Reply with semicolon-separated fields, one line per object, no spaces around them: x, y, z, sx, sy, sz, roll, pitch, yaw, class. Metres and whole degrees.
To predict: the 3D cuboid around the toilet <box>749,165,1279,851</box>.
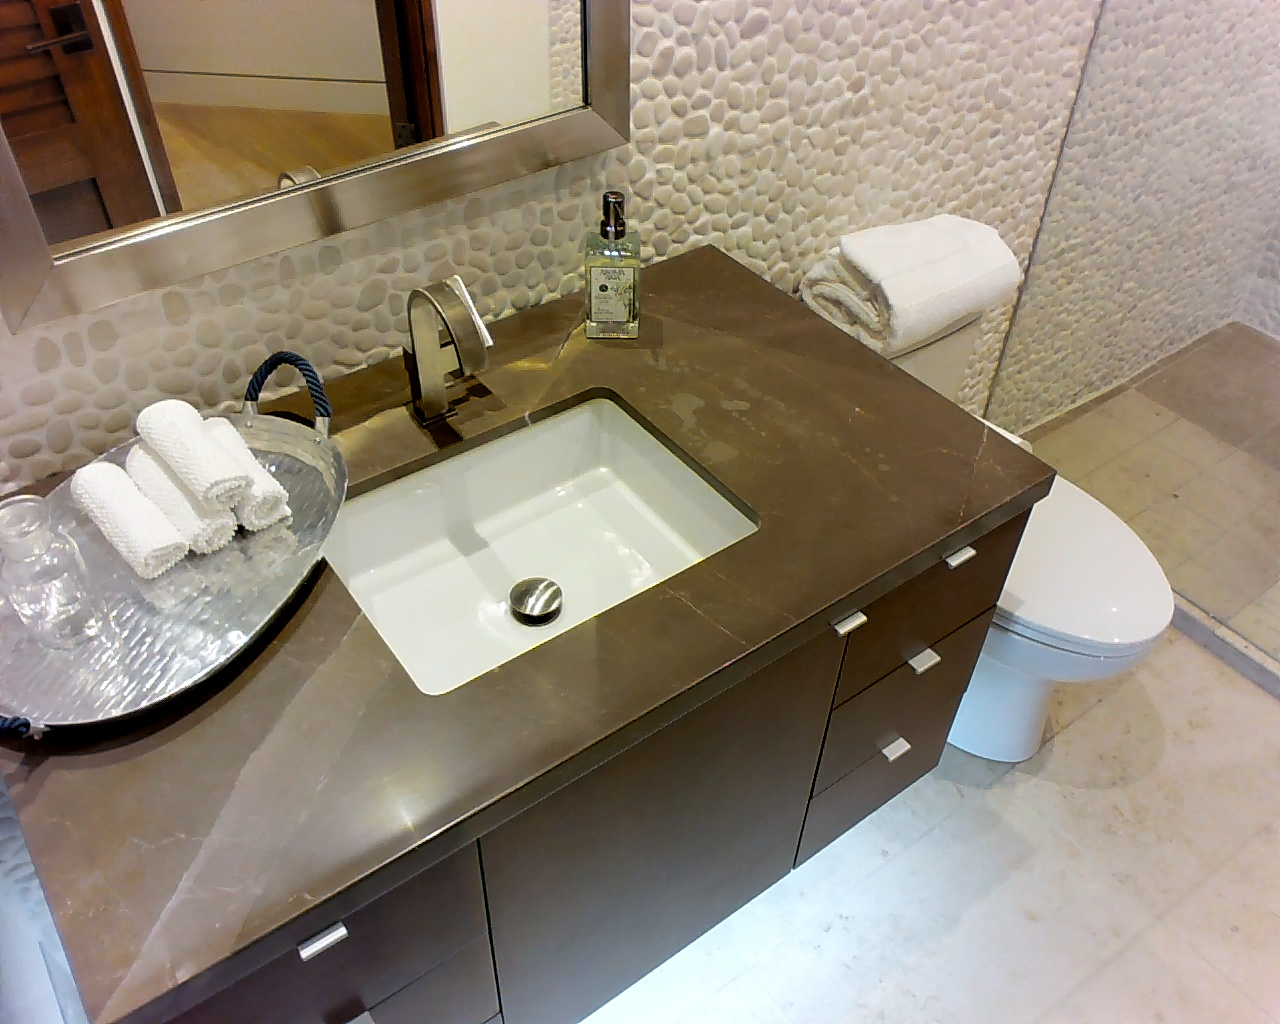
0.620;-0.010;1.890;0.410;0.880;0.730;-26;49;-26;toilet
